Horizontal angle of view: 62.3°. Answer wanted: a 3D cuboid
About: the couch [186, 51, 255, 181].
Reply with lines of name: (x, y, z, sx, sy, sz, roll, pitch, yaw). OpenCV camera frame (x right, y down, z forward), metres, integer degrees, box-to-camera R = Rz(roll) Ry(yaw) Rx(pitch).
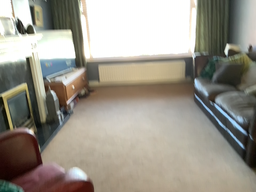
couch: (1.500, -0.030, 2.560, 1.050, 0.760, 2.110, -3, 18, 2)

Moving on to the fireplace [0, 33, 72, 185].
fireplace: (-1.170, -0.040, 2.320, 0.530, 1.200, 1.490, -2, 18, 3)

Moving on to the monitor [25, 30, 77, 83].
monitor: (-1.280, -0.750, 3.740, 0.080, 0.750, 1.210, 2, 18, 15)
